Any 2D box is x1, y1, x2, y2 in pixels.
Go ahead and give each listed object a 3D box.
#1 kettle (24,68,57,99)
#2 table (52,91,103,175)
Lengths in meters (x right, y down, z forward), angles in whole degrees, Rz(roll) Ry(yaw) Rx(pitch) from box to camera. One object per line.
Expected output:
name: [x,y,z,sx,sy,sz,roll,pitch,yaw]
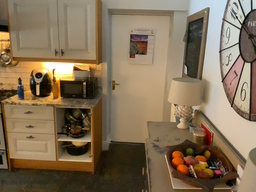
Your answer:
kettle: [-1.130,-0.170,2.760,0.280,0.330,0.290,2,15,2]
table: [-0.630,0.450,2.850,0.490,0.900,0.660,2,15,1]
